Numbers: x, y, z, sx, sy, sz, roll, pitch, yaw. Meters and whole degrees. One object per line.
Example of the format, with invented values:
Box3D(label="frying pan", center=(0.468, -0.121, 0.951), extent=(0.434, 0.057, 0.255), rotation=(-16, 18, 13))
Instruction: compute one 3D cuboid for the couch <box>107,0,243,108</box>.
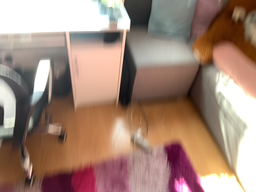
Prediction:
Box3D(label="couch", center=(0.240, -0.470, 1.720), extent=(0.660, 0.850, 0.680), rotation=(-6, 48, -15))
